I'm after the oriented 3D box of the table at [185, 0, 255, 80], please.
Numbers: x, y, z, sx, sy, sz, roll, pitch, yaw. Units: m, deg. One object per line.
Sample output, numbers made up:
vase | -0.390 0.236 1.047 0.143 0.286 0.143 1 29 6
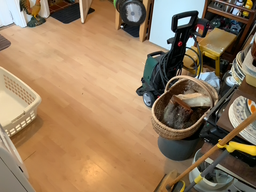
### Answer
table | 1.030 -0.680 2.200 0.440 0.670 0.670 32 52 22
